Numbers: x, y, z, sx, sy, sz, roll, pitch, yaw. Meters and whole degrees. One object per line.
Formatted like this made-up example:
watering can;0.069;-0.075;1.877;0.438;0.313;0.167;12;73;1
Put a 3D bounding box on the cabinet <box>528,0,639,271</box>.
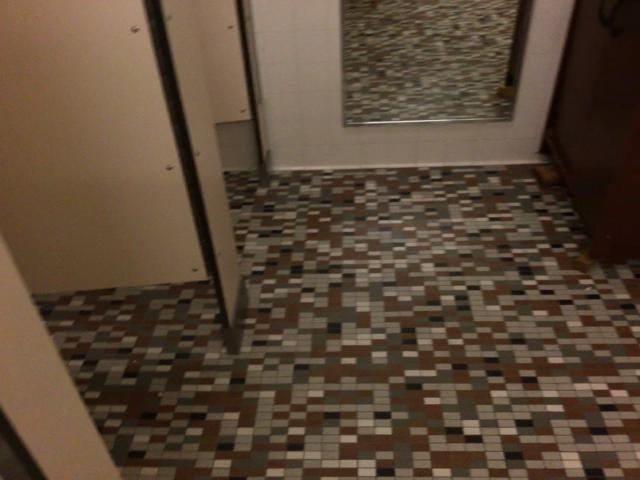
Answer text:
cabinet;0.920;-0.430;1.670;0.320;0.850;0.600;-1;39;2
